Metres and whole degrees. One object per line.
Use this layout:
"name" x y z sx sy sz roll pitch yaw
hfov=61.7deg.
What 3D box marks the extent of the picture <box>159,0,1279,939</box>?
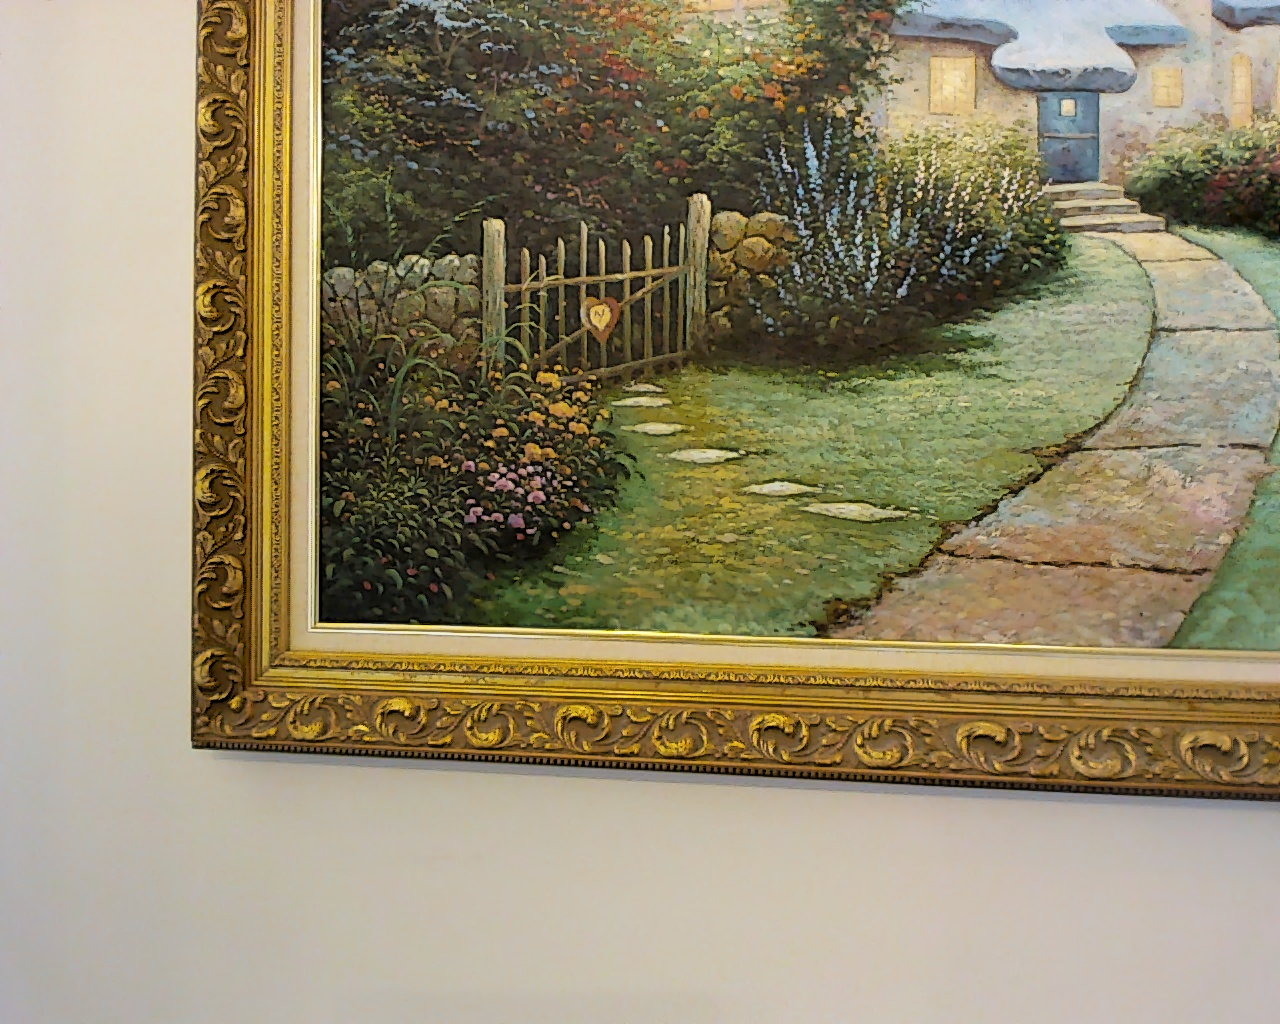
"picture" 0.360 -0.310 0.810 1.540 1.220 0.060 1 0 11
